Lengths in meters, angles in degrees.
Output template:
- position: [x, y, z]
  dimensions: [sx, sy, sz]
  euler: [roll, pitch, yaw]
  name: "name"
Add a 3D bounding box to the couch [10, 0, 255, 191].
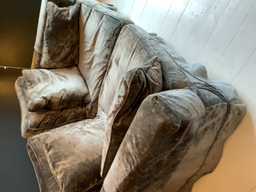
- position: [-0.270, 0.070, 1.650]
  dimensions: [1.650, 0.810, 1.210]
  euler: [48, 125, 40]
  name: "couch"
